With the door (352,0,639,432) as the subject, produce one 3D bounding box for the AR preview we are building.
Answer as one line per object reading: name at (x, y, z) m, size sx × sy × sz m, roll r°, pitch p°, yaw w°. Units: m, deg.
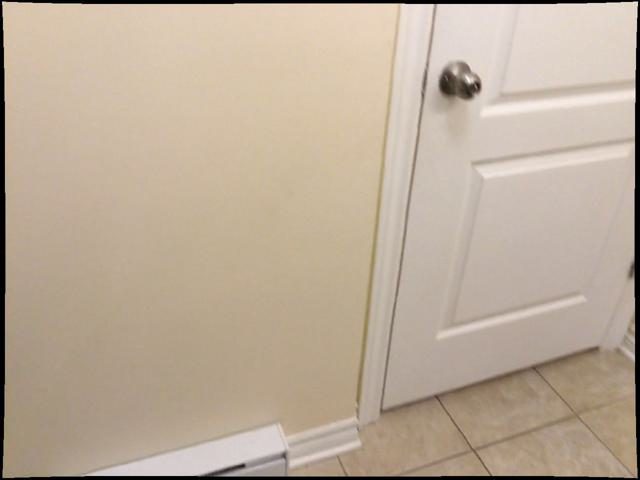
door at (0.589, -0.370, 1.200) m, size 0.979 × 1.831 × 0.090 m, roll -11°, pitch 36°, yaw -19°
